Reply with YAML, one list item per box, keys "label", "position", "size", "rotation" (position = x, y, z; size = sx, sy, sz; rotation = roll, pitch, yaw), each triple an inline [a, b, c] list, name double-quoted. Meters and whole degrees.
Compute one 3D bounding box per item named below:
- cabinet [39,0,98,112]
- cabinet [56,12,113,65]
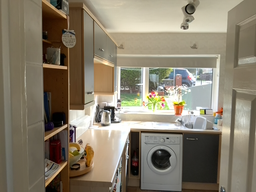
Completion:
- label: "cabinet"
  position: [-0.470, -0.310, 1.770]
  size: [0.380, 0.830, 0.320]
  rotation: [1, 5, 5]
- label: "cabinet"
  position: [-0.440, -0.600, 2.490]
  size: [0.360, 0.400, 1.160]
  rotation: [1, 5, 3]
